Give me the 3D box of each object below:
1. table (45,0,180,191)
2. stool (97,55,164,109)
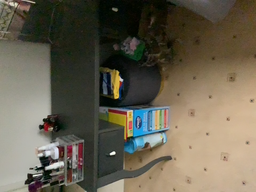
[{"bbox_3d":[-0.120,-0.120,1.550,0.600,0.730,1.280,8,98,47],"label":"table"},{"bbox_3d":[0.020,-0.110,1.650,0.340,0.390,0.350,6,97,47],"label":"stool"}]
